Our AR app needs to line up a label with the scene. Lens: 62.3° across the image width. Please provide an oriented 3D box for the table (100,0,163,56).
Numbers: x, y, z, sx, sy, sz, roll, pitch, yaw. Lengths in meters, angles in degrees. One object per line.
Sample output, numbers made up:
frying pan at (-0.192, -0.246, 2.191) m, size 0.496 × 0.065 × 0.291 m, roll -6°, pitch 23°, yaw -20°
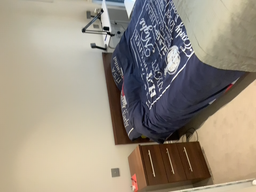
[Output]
table at (0.010, -1.080, 3.280) m, size 0.410 × 0.770 × 0.810 m, roll 114°, pitch 150°, yaw -54°
